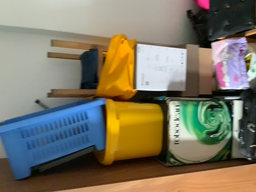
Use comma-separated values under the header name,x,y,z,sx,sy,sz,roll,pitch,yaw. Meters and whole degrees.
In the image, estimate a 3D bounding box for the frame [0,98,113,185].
name,x,y,z,sx,sy,sz,roll,pitch,yaw
frame,-0.440,0.220,1.290,0.480,0.580,0.400,175,96,-69
